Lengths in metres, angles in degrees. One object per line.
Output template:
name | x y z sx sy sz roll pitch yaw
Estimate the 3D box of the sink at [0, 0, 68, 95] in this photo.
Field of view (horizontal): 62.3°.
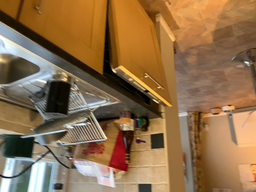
sink | -0.500 -0.180 0.880 0.420 0.210 0.240 -12 155 29
